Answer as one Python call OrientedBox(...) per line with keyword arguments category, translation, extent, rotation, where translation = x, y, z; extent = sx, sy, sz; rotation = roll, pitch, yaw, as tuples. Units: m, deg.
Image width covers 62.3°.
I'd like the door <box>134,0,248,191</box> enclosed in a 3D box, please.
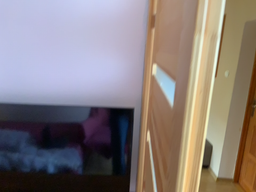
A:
OrientedBox(category="door", translation=(0.090, 0.380, 0.860), extent=(0.070, 2.140, 0.930), rotation=(3, 13, 0))
